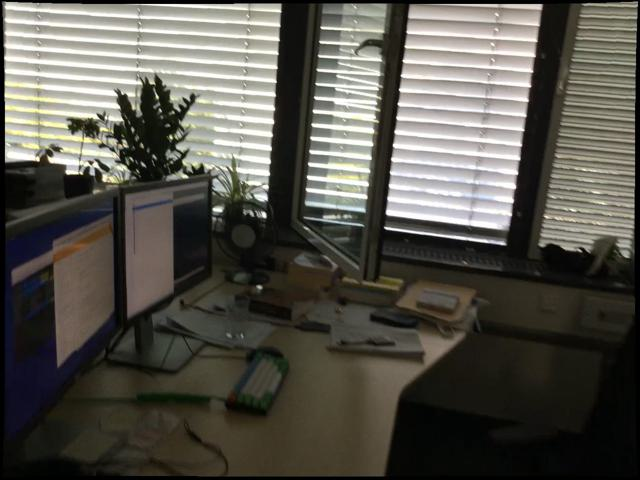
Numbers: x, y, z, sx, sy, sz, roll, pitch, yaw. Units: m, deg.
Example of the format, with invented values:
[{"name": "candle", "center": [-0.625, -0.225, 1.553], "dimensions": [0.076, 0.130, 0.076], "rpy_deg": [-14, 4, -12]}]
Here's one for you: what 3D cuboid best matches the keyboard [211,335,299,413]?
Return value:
[{"name": "keyboard", "center": [-0.160, 0.340, 1.520], "dimensions": [0.120, 0.040, 0.350], "rpy_deg": [6, 14, 12]}]
